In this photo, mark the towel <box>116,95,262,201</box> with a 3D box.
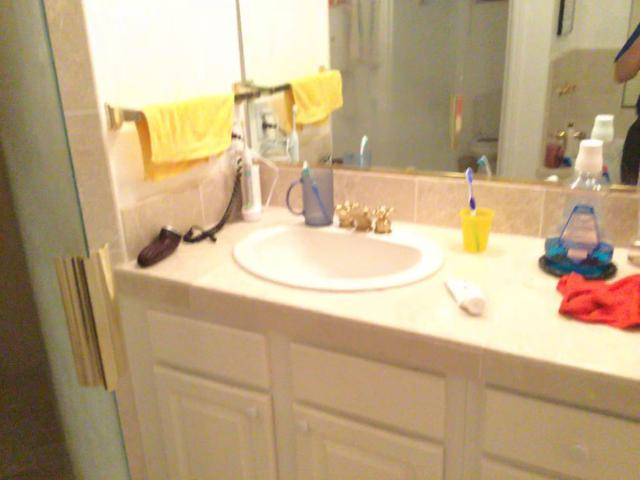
[{"bbox_3d":[-0.300,-0.240,1.420,0.100,0.210,0.400,9,18,27],"label":"towel"}]

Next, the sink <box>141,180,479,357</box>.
[{"bbox_3d":[-0.010,0.020,1.390,0.650,0.200,0.470,9,18,27],"label":"sink"}]

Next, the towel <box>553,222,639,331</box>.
[{"bbox_3d":[0.630,0.070,1.060,0.330,0.100,0.310,9,18,27],"label":"towel"}]
